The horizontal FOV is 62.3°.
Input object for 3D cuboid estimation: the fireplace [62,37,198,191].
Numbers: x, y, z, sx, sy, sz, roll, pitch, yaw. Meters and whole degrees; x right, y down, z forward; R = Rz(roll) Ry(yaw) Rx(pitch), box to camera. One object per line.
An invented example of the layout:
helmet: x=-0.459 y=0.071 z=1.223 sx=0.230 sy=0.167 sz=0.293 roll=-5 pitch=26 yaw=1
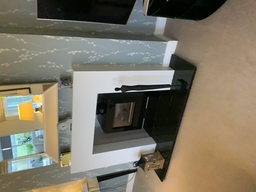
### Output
fireplace: x=-0.120 y=0.210 z=2.250 sx=0.840 sy=0.990 sz=1.410 roll=-130 pitch=43 yaw=-54
